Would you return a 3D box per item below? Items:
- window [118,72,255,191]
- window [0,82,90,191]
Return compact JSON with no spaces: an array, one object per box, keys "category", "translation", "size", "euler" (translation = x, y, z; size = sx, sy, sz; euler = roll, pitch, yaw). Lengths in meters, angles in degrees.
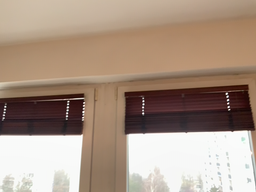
[{"category":"window","translation":[0.370,0.540,1.220],"size":[0.870,1.340,0.090],"euler":[-4,-17,14]},{"category":"window","translation":[-0.680,0.590,1.410],"size":[0.780,1.360,0.110],"euler":[-3,-16,11]}]
